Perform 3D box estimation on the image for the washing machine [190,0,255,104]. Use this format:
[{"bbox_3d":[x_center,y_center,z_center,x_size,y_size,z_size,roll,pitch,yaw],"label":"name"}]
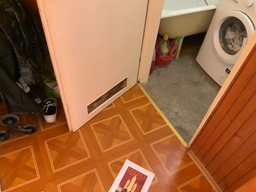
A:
[{"bbox_3d":[1.100,-0.510,1.870,0.610,0.860,0.630,-15,52,-19],"label":"washing machine"}]
